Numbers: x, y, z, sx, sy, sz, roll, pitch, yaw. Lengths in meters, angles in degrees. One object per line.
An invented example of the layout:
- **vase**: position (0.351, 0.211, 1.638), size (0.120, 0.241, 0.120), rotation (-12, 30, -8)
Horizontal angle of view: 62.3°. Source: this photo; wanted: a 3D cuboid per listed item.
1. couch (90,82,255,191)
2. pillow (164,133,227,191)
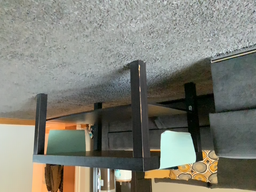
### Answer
- **couch**: position (0.870, 0.450, 1.880), size (2.450, 0.810, 1.100), rotation (-12, 164, 41)
- **pillow**: position (0.650, 0.670, 2.070), size (0.410, 0.430, 0.190), rotation (-31, 148, 9)
